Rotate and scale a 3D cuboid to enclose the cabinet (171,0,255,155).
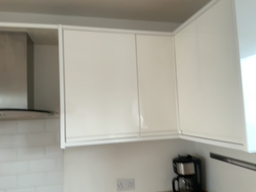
[{"bbox_3d":[0.580,-0.120,1.290,0.320,0.790,0.650,-1,-4,-15],"label":"cabinet"}]
